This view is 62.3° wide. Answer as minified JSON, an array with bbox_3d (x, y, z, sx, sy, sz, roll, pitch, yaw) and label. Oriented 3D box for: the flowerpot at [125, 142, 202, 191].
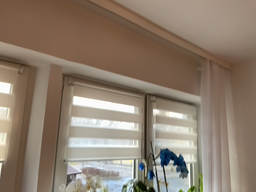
[{"bbox_3d":[0.250,0.690,1.520,0.380,0.690,0.390,12,-16,-39],"label":"flowerpot"}]
